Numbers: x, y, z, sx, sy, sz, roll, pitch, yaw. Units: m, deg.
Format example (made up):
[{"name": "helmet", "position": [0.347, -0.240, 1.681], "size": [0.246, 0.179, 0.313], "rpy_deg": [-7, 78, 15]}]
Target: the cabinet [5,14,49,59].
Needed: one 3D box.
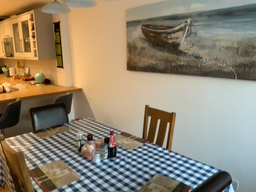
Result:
[{"name": "cabinet", "position": [-1.900, -1.080, 3.970], "size": [1.010, 0.720, 0.330], "rpy_deg": [11, 16, 43]}]

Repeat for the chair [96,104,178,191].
[{"name": "chair", "position": [0.080, 0.640, 1.810], "size": [0.530, 1.020, 0.400], "rpy_deg": [-11, 16, -39]}]
